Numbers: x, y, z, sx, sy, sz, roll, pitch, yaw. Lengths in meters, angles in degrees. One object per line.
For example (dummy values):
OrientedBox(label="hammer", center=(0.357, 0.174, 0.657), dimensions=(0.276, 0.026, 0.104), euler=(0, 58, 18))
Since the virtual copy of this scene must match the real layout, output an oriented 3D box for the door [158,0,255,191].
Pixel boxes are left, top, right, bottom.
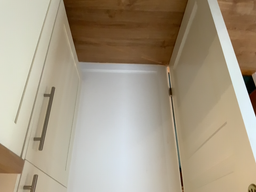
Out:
OrientedBox(label="door", center=(0.340, 0.530, 0.810), dimensions=(0.110, 2.250, 0.990), euler=(1, 150, -3))
